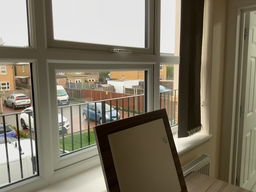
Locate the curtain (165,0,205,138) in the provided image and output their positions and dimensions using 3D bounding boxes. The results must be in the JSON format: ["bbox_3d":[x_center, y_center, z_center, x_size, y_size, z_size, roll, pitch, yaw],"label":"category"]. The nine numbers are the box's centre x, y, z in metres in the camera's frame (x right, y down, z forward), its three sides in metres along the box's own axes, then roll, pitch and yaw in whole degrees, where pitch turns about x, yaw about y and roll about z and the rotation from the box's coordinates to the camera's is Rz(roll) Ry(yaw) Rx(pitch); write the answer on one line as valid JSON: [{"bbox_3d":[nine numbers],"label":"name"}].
[{"bbox_3d":[0.470,-0.300,1.750,0.240,1.240,0.200,-8,10,-43],"label":"curtain"}]

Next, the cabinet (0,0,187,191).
[{"bbox_3d":[-0.160,-0.250,1.400,1.850,1.330,0.110,-8,10,-43],"label":"cabinet"}]
